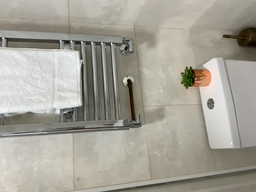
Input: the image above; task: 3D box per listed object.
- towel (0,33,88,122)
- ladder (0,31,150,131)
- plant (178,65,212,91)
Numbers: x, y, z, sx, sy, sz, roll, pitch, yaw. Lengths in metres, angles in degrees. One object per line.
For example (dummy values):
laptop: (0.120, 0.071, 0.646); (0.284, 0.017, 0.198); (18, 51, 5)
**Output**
towel: (-0.420, -0.060, 0.730); (0.120, 0.530, 0.280); (131, 135, -67)
ladder: (-0.460, -0.060, 0.770); (0.050, 1.090, 0.370); (132, 134, -67)
plant: (0.300, -0.080, 0.960); (0.100, 0.090, 0.090); (134, 132, -68)
